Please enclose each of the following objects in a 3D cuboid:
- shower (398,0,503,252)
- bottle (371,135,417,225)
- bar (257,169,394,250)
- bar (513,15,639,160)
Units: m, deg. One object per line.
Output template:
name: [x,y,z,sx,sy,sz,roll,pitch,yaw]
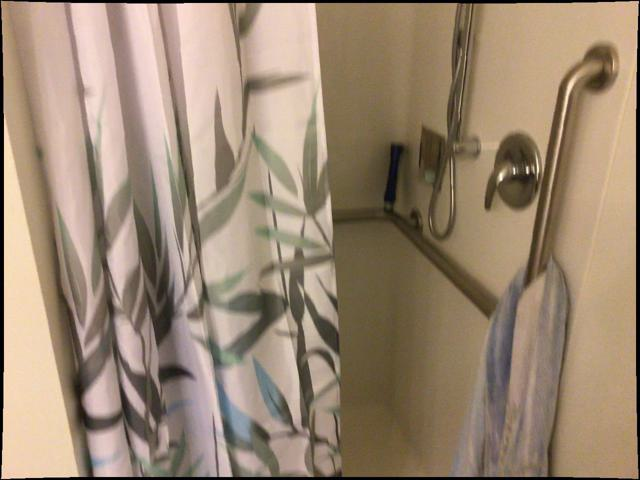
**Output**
shower: [0.329,-0.541,1.510,0.110,1.102,0.330,-10,25,-15]
bottle: [0.229,-0.190,1.810,0.090,0.240,0.140,-10,25,-15]
bar: [0.020,-0.100,1.810,0.399,0.160,0.130,-10,25,-15]
bar: [0.449,-0.281,1.040,0.080,0.220,0.190,-10,25,-15]
